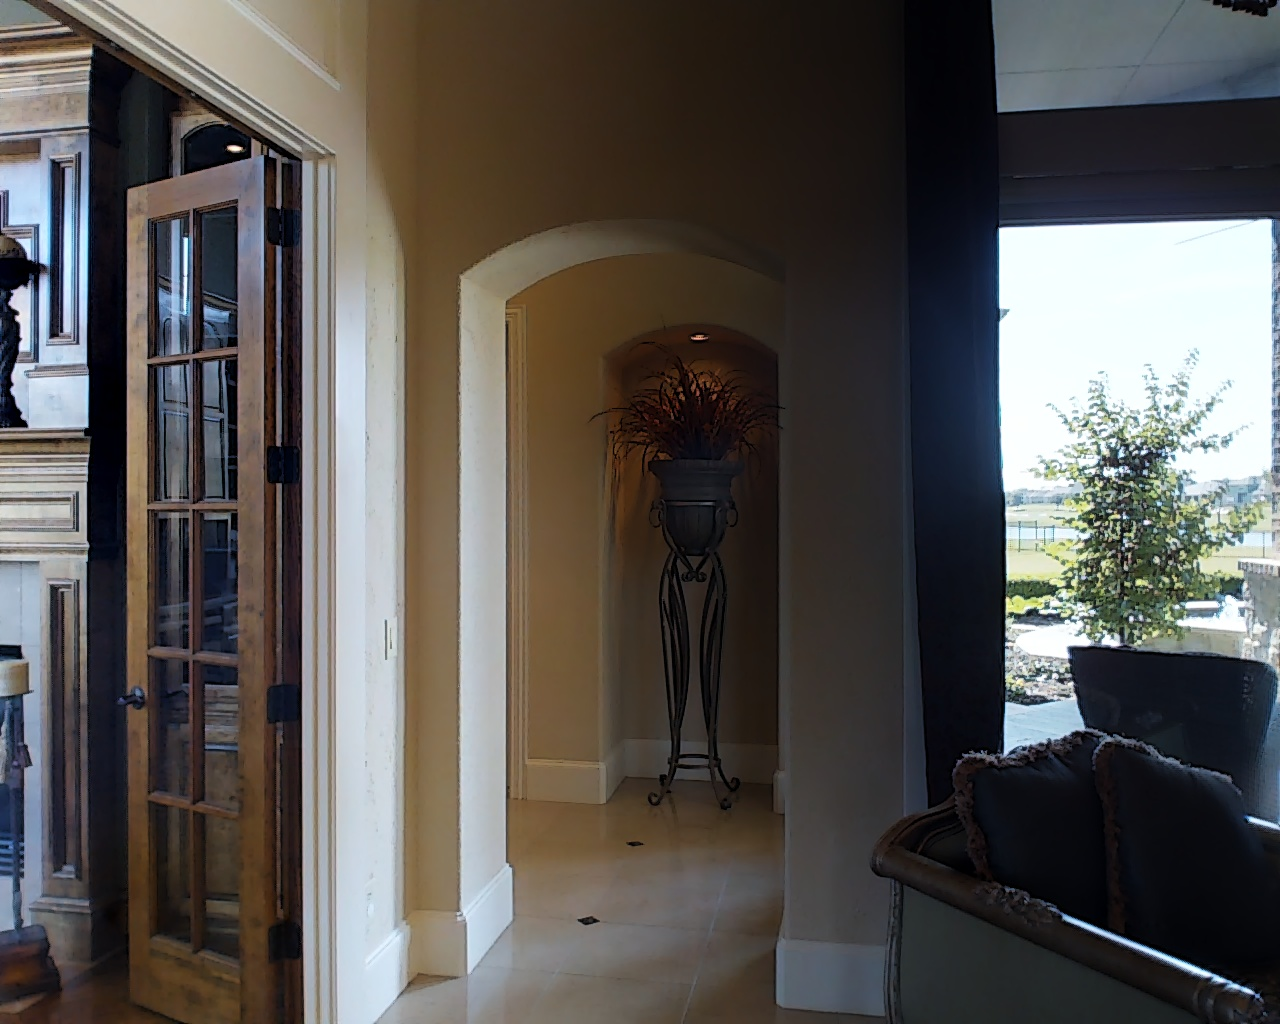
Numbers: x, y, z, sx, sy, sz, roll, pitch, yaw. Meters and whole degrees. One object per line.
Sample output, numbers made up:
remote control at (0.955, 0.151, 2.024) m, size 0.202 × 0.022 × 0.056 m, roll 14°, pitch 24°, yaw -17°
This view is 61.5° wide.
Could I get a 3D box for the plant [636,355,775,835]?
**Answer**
plant at (0.360, 0.400, 5.590) m, size 0.620 × 2.301 × 0.740 m, roll 0°, pitch -1°, yaw 11°
